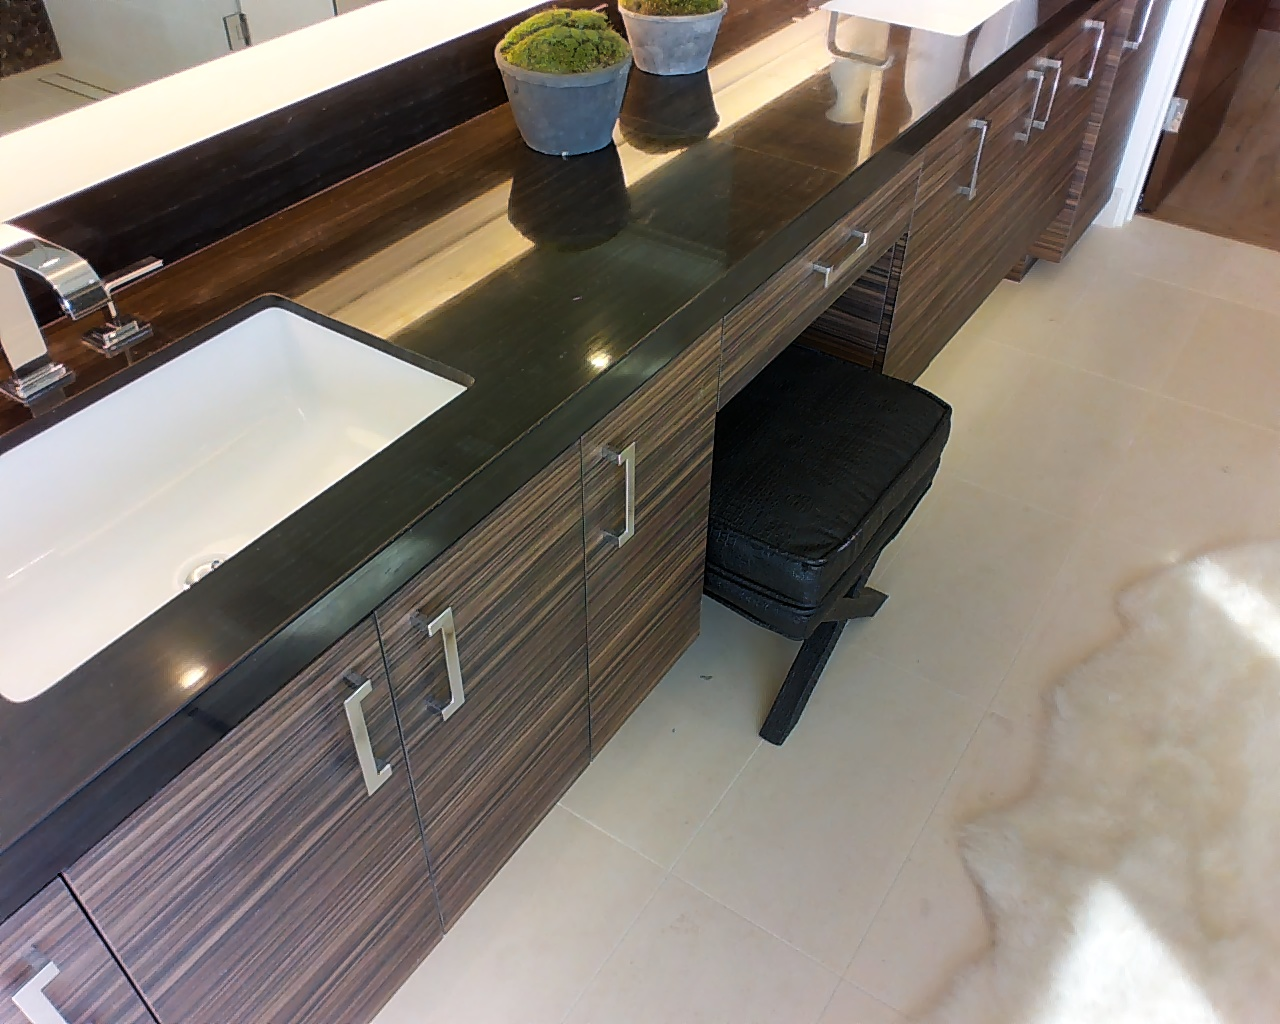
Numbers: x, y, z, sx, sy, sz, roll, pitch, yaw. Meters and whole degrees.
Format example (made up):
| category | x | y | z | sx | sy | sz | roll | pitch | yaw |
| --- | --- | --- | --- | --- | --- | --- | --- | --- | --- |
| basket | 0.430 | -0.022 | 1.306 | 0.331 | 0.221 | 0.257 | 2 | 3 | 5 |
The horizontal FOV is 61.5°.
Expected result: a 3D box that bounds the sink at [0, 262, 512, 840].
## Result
| category | x | y | z | sx | sy | sz | roll | pitch | yaw |
| --- | --- | --- | --- | --- | --- | --- | --- | --- | --- |
| sink | -0.450 | -0.010 | 1.090 | 0.360 | 0.180 | 0.550 | 25 | 47 | 24 |
